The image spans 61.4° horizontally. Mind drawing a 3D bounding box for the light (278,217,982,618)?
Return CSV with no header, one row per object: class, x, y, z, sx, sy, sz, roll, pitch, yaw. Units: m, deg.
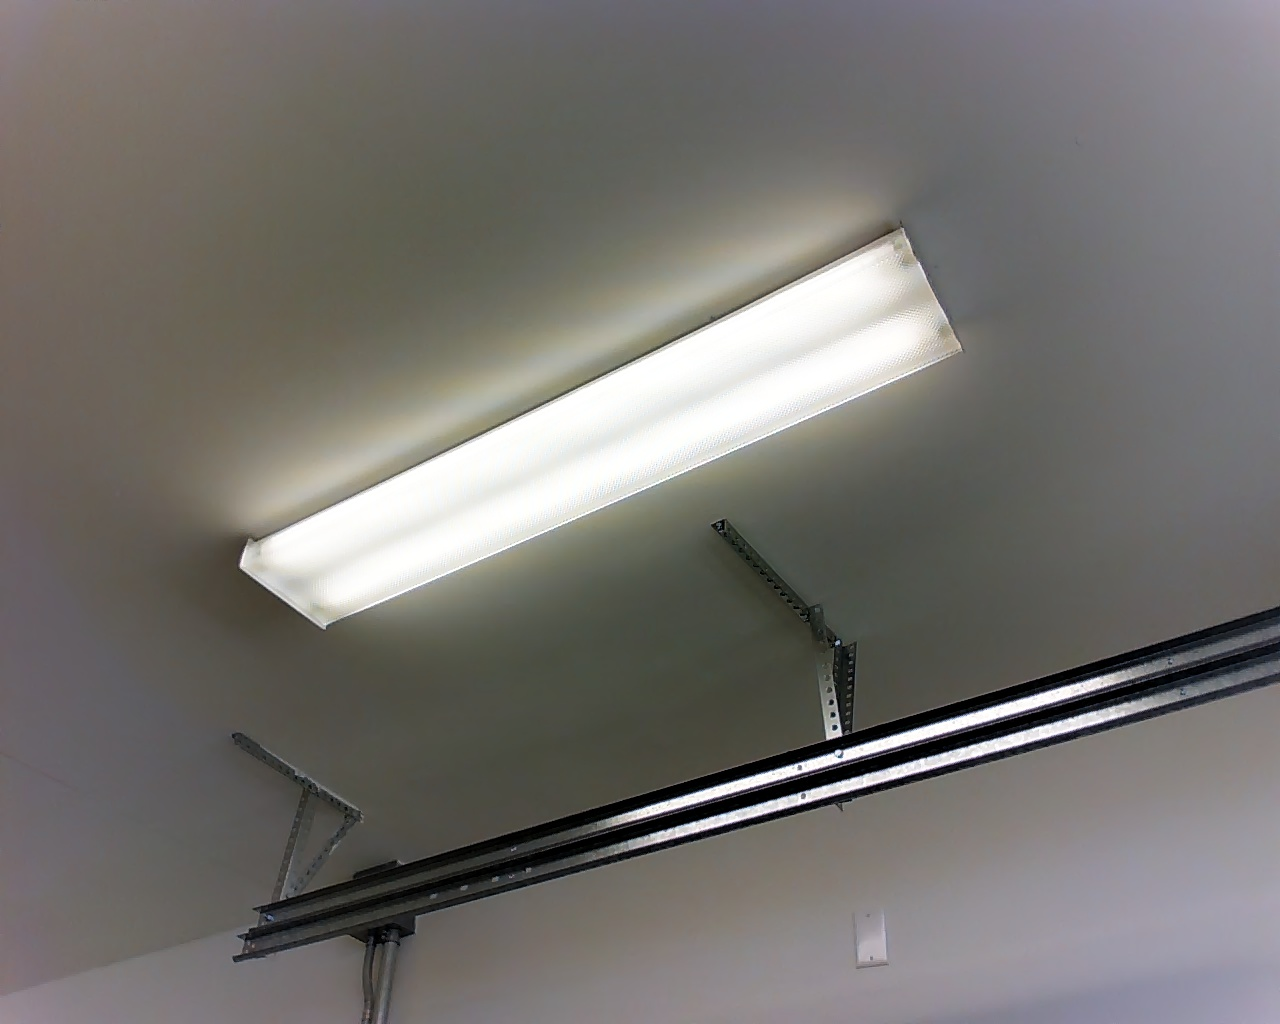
light,-0.070,-0.100,1.740,1.190,0.060,0.220,-23,-47,23
